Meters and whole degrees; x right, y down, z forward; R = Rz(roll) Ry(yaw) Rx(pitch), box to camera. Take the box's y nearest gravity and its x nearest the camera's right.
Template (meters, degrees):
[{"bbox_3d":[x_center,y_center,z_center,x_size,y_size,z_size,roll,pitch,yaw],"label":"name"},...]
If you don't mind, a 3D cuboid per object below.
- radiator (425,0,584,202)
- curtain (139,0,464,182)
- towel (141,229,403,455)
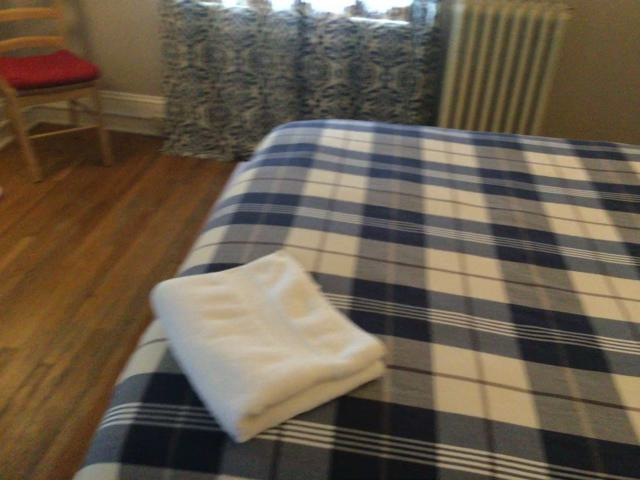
[{"bbox_3d":[0.860,-0.700,2.860,0.550,0.940,0.290,7,32,8],"label":"radiator"},{"bbox_3d":[-0.090,-1.330,2.710,1.540,2.050,0.220,7,33,5],"label":"curtain"},{"bbox_3d":[-0.100,0.150,1.050,0.300,0.100,0.390,-19,39,-32],"label":"towel"}]
